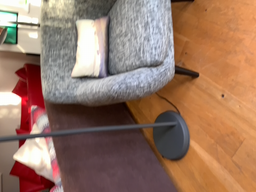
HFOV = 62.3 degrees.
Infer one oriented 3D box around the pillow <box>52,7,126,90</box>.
[{"bbox_3d":[-0.240,-0.300,1.350,0.440,0.270,0.120,-63,-17,-4],"label":"pillow"}]
